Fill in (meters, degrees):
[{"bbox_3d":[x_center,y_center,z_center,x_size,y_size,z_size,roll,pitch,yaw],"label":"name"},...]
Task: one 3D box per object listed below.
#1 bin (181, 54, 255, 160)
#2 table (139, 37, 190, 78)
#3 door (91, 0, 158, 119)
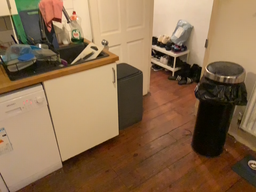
[{"bbox_3d":[0.800,0.100,1.920,0.420,0.810,0.330,-19,37,-27],"label":"bin"},{"bbox_3d":[0.590,-0.690,3.620,0.340,0.390,0.840,-21,38,-29],"label":"table"},{"bbox_3d":[0.000,-0.730,2.320,0.800,2.050,0.080,-23,39,-32],"label":"door"}]
